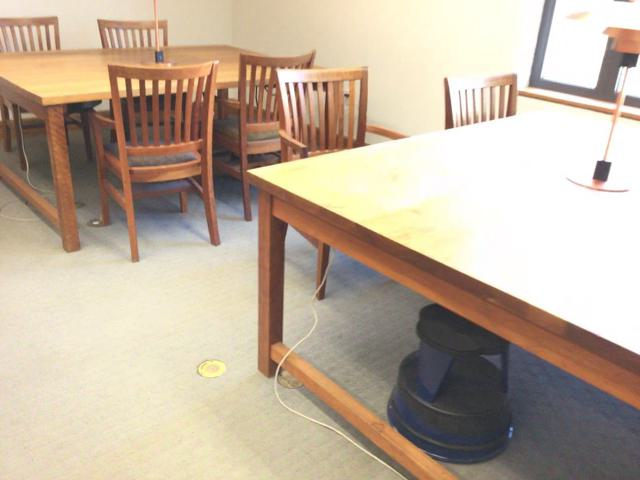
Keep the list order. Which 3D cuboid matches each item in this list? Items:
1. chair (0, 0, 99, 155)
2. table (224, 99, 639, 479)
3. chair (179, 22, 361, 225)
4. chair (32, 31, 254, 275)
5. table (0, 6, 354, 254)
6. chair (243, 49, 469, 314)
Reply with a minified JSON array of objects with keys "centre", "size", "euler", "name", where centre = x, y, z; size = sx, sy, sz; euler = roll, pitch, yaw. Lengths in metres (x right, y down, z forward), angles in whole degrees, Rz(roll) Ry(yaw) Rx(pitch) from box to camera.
[{"centre":[-1.840,-1.120,3.860],"size":[0.500,0.960,0.570],"euler":[-11,28,-40],"name":"chair"},{"centre":[0.830,0.140,1.990],"size":[1.750,0.950,1.400],"euler":[-11,28,-40],"name":"table"},{"centre":[-0.320,-0.700,3.410],"size":[0.740,0.980,0.640],"euler":[-11,28,-40],"name":"chair"},{"centre":[-0.880,-0.460,2.850],"size":[0.770,0.950,0.680],"euler":[-11,28,-40],"name":"chair"},{"centre":[-0.980,-0.770,3.560],"size":[1.770,1.000,1.400],"euler":[-11,28,-40],"name":"table"},{"centre":[0.130,-0.300,2.640],"size":[0.640,0.980,0.620],"euler":[-11,28,-40],"name":"chair"}]
